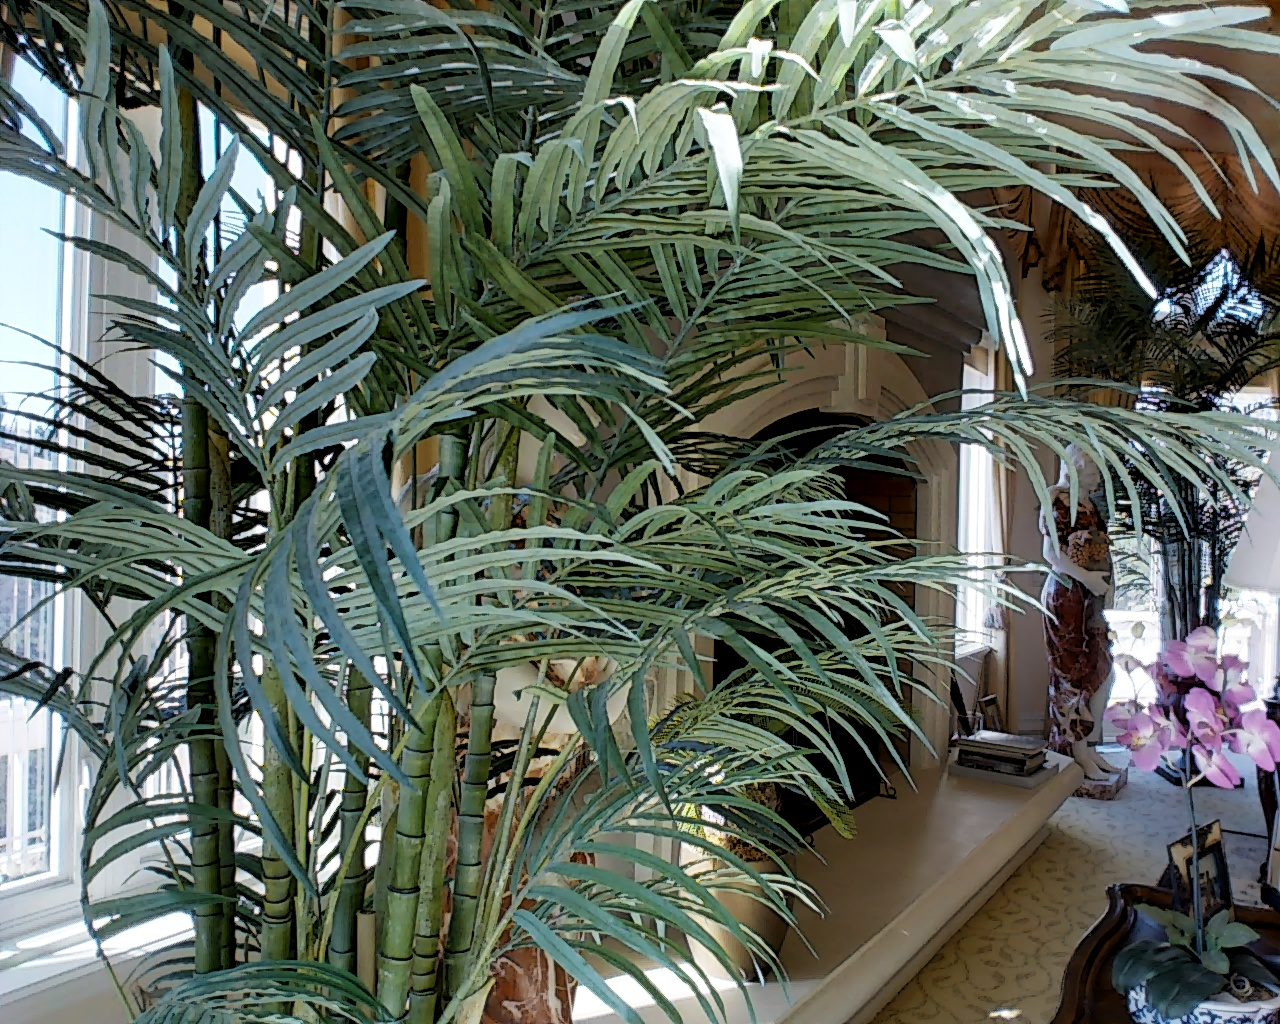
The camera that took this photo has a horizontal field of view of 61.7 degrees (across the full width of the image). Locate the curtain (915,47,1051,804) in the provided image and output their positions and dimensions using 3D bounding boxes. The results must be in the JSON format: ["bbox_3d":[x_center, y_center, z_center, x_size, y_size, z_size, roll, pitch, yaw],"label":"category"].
[{"bbox_3d":[1.940,-0.420,5.950,0.260,3.719,1.480,1,0,33],"label":"curtain"}]
